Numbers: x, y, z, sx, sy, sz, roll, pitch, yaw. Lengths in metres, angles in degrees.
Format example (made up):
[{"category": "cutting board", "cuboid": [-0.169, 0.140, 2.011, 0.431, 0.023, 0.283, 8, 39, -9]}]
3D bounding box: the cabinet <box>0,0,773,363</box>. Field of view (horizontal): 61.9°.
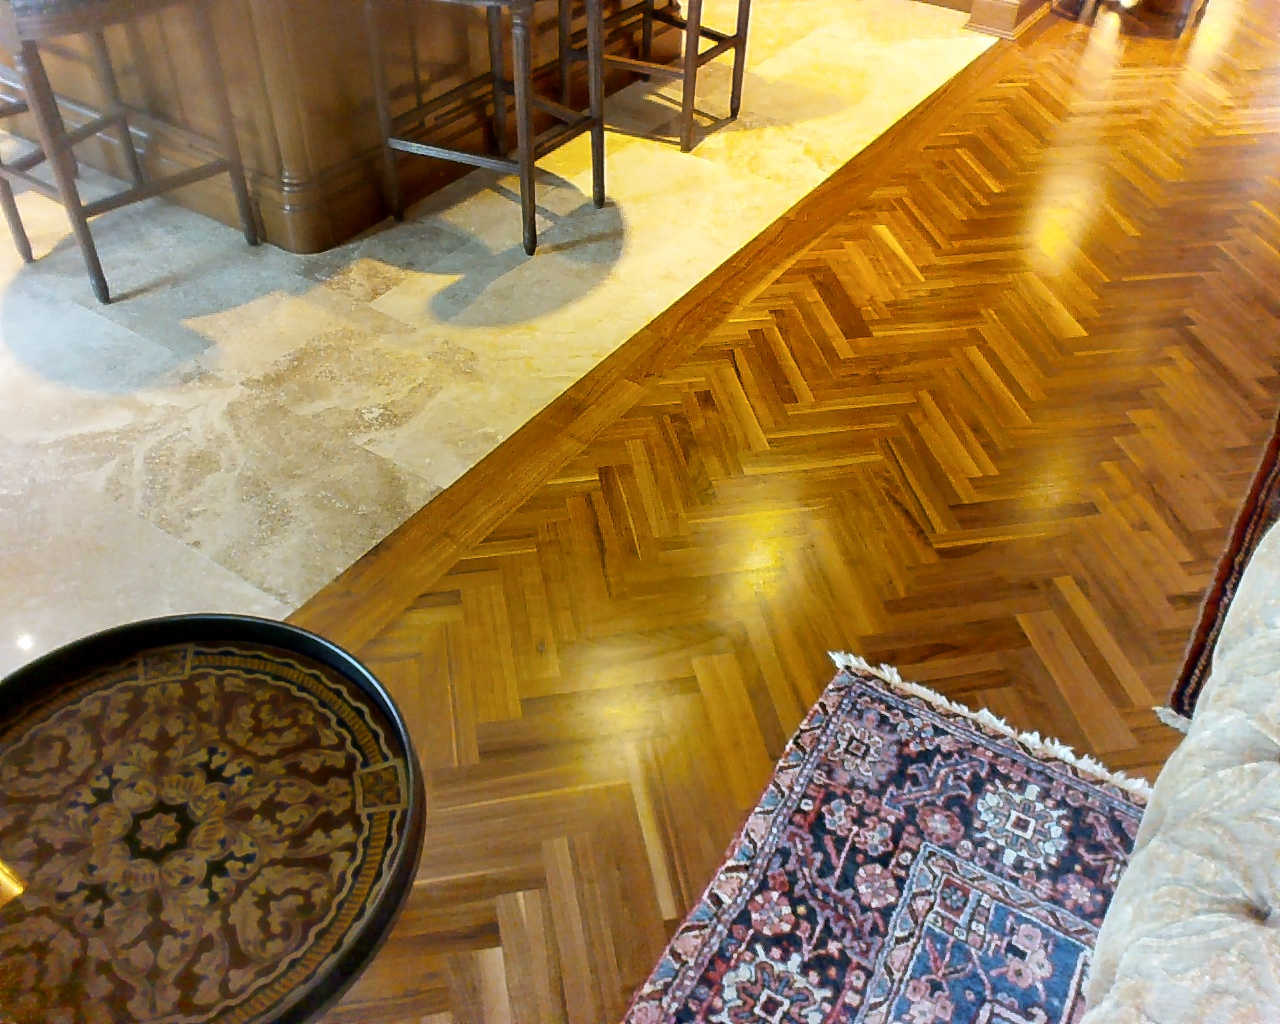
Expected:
[{"category": "cabinet", "cuboid": [-1.230, -1.890, 3.310, 2.590, 1.110, 2.260, 25, 48, 23]}]
